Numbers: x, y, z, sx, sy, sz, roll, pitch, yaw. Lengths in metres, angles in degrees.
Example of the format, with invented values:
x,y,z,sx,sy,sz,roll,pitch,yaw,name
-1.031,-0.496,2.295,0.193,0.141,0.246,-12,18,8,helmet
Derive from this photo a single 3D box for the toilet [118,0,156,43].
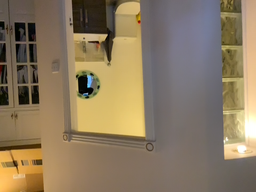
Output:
x,y,z,sx,sy,sz,roll,pitch,yaw,name
0.120,-1.270,3.190,0.400,0.810,0.560,-3,-178,-14,toilet
